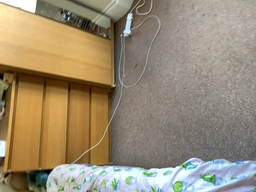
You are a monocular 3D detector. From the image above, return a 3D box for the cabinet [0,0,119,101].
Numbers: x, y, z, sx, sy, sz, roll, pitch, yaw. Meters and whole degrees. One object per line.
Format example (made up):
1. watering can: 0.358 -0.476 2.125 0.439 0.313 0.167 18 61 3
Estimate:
1. cabinet: -1.060 -0.540 2.020 0.670 1.910 0.830 -19 67 50
